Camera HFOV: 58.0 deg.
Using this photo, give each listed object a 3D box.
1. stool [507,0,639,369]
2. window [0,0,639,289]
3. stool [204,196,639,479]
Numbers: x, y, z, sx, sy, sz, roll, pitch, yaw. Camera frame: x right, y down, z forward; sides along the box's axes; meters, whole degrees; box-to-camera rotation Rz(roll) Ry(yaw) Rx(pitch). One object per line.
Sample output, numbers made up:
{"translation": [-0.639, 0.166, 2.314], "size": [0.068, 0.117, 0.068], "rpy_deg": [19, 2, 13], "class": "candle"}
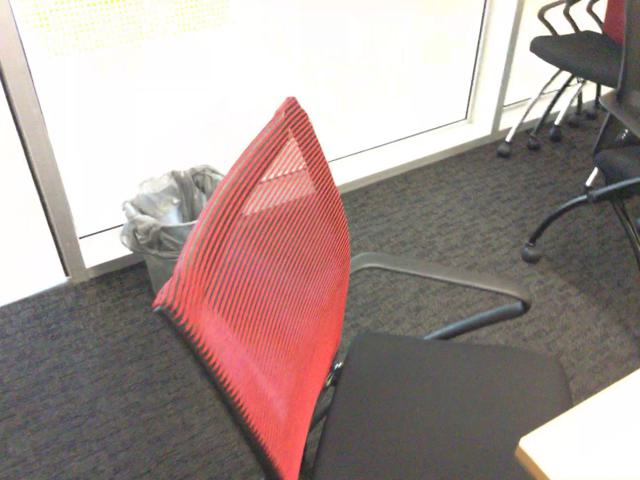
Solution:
{"translation": [1.030, -0.240, 1.610], "size": [0.590, 0.920, 0.570], "rpy_deg": [-16, 40, -18], "class": "stool"}
{"translation": [0.360, -1.140, 1.950], "size": [2.890, 1.900, 0.380], "rpy_deg": [-20, 42, -22], "class": "window"}
{"translation": [0.250, 0.430, 0.950], "size": [0.630, 0.720, 0.600], "rpy_deg": [8, 39, 12], "class": "stool"}
